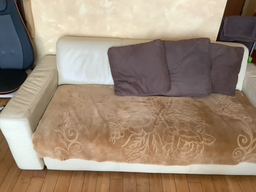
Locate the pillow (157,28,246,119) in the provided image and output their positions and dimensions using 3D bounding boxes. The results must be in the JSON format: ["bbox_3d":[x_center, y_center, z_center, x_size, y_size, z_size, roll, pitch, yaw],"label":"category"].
[{"bbox_3d":[0.590,-0.150,1.710,0.550,0.580,0.200,-15,32,17],"label":"pillow"}]

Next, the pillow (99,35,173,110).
[{"bbox_3d":[0.080,-0.170,1.730,0.430,0.490,0.160,-17,32,18],"label":"pillow"}]
